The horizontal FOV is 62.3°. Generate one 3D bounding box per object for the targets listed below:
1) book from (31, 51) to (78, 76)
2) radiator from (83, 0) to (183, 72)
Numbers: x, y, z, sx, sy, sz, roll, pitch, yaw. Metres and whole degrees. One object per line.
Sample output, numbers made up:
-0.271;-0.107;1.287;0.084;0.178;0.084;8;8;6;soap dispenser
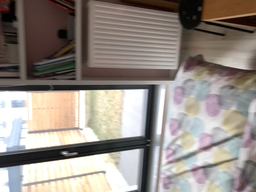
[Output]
-0.610;-0.270;1.750;0.240;0.340;0.160;-144;55;-61;book
0.040;-0.540;1.960;0.250;0.850;0.590;-146;57;-62;radiator
